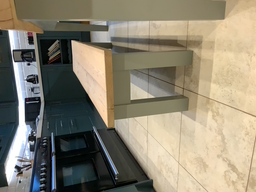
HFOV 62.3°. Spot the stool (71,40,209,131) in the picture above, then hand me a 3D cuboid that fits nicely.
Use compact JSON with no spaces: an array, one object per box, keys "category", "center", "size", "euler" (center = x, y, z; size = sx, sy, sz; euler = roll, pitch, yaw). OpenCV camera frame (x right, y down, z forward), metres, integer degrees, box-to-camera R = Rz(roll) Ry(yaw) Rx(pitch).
[{"category":"stool","center":[-0.130,-0.260,1.750],"size":[1.720,0.470,0.360],"euler":[-143,50,-65]}]
